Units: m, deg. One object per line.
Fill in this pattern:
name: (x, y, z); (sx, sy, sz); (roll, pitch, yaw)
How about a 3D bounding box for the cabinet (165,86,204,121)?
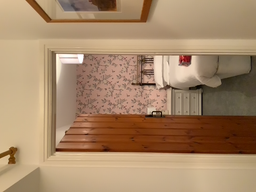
cabinet: (1.110, 0.140, 4.230); (0.500, 0.630, 0.650); (87, -176, -89)
